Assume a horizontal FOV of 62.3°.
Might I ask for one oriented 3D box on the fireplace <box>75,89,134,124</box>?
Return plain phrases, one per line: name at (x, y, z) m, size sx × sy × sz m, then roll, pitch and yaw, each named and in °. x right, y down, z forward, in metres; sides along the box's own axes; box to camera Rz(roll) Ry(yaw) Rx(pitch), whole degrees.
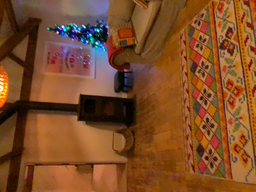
fireplace at (-0.480, 0.240, 4.300) m, size 0.530 × 1.070 × 0.530 m, roll 143°, pitch 130°, yaw -67°
